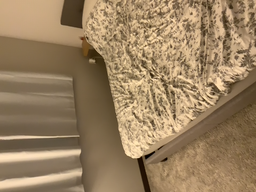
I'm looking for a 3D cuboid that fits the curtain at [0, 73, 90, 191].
[{"bbox_3d":[-1.250,0.600,2.200,0.140,1.620,1.980,-53,41,48],"label":"curtain"}]
